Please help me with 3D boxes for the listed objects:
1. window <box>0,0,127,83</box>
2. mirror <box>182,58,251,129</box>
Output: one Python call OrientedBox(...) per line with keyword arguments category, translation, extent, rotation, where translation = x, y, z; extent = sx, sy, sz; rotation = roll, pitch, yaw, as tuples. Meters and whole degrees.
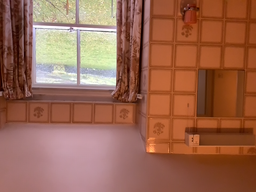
OrientedBox(category="window", translation=(-0.470, -0.610, 1.600), extent=(0.920, 1.000, 0.080), rotation=(1, -175, -4))
OrientedBox(category="mirror", translation=(0.530, -0.020, 1.310), extent=(0.340, 0.410, 0.150), rotation=(1, -175, 1))
